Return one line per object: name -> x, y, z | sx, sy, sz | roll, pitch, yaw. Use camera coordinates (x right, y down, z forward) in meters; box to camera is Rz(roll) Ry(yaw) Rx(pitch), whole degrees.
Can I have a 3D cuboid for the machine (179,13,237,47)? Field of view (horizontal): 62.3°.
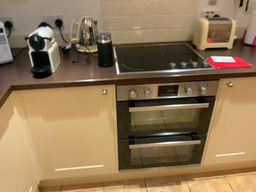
machine -> 0.590, -0.510, 1.620 | 0.310, 0.190, 0.250 | -3, 31, -6
